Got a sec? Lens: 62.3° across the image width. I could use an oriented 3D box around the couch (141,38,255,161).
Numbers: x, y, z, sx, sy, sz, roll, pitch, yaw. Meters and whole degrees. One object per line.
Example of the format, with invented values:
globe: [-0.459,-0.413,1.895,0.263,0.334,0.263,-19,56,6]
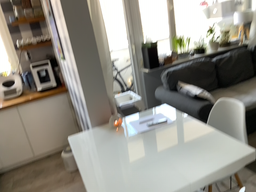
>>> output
couch: [1.640,-0.200,3.110,2.530,0.870,1.210,-17,20,-20]
